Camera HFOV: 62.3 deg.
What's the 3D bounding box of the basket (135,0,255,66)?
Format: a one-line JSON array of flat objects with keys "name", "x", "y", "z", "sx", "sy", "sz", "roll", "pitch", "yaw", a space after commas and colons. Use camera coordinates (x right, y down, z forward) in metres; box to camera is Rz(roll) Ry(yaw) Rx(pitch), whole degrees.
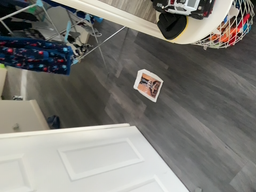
[{"name": "basket", "x": 0.420, "y": -0.450, "z": 1.170, "sx": 0.400, "sy": 0.550, "sz": 0.350, "roll": 43, "pitch": 118, "yaw": 38}]
